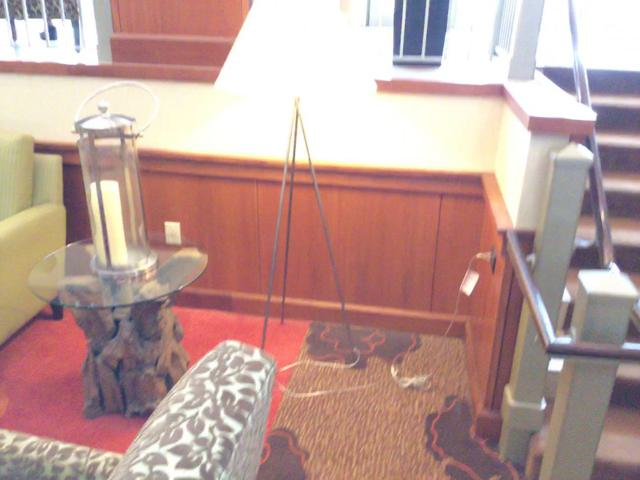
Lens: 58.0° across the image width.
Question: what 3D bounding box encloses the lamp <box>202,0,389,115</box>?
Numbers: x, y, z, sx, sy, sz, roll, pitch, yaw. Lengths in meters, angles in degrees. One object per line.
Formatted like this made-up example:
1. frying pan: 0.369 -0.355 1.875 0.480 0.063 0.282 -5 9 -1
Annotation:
1. lamp: -0.070 -0.710 2.000 0.560 0.410 0.350 10 22 3
